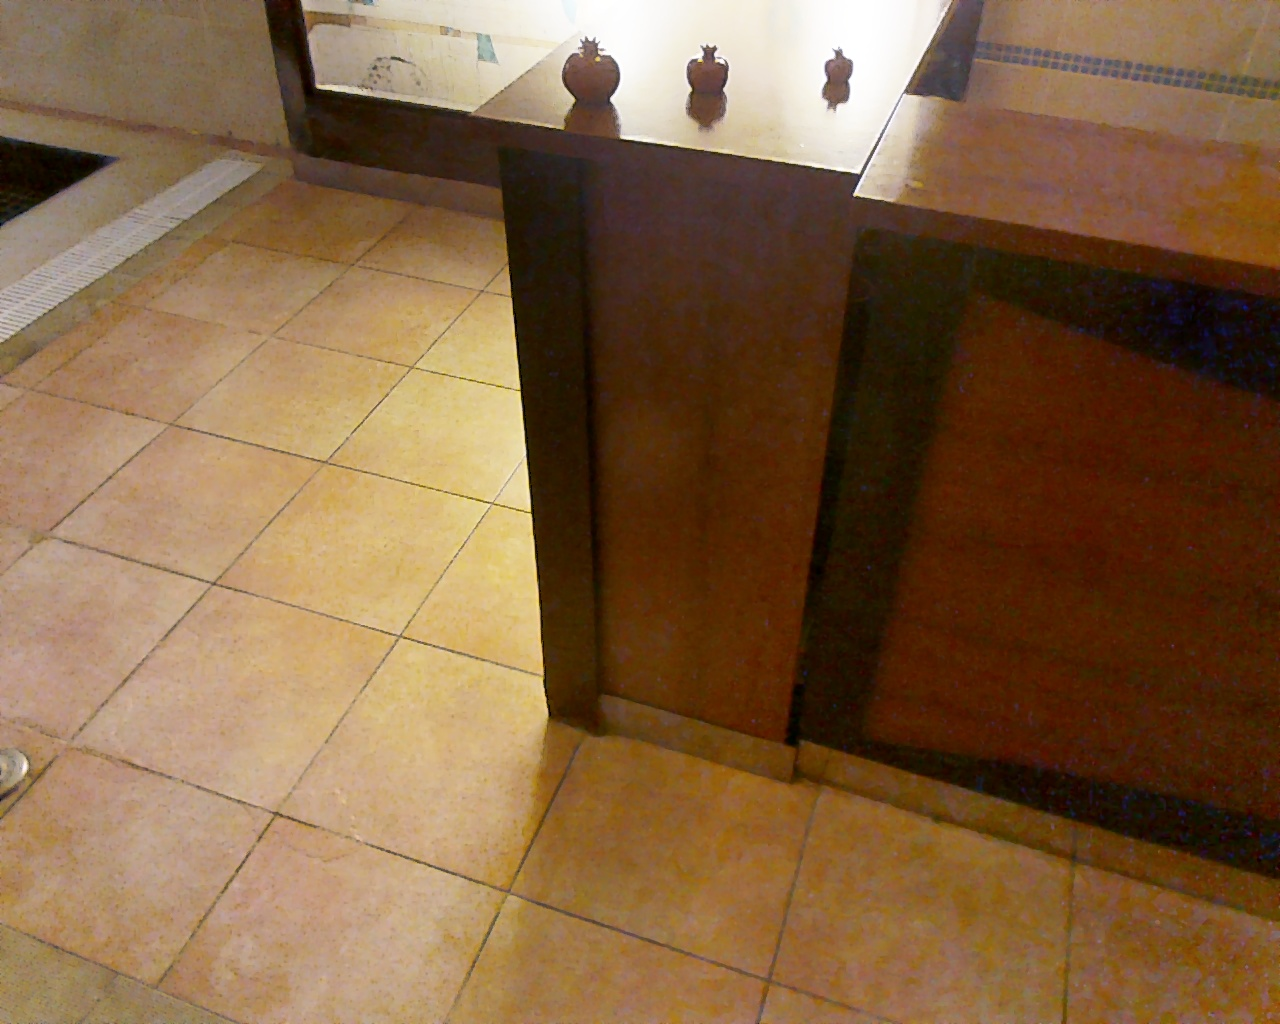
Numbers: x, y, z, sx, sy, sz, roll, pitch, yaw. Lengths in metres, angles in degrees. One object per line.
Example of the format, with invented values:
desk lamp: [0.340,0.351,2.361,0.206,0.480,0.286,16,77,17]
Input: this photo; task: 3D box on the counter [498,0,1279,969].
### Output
counter: [1.150,-0.370,1.990,2.120,1.180,1.910,14,43,14]
